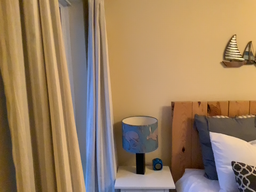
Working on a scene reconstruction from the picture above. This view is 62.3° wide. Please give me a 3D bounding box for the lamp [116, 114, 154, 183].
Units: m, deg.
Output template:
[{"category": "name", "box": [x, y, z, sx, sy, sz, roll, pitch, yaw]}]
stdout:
[{"category": "lamp", "box": [0.060, 0.430, 1.820, 0.280, 0.480, 0.320, -2, 7, 1]}]
